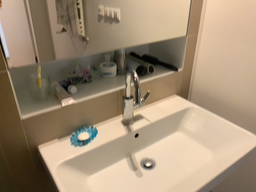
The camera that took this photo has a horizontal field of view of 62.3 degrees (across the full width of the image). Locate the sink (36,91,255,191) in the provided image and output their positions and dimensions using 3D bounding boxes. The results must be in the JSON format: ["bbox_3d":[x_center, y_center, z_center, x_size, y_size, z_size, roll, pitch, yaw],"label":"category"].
[{"bbox_3d":[0.110,0.250,0.870,0.780,0.170,0.480,-19,34,-31],"label":"sink"}]
